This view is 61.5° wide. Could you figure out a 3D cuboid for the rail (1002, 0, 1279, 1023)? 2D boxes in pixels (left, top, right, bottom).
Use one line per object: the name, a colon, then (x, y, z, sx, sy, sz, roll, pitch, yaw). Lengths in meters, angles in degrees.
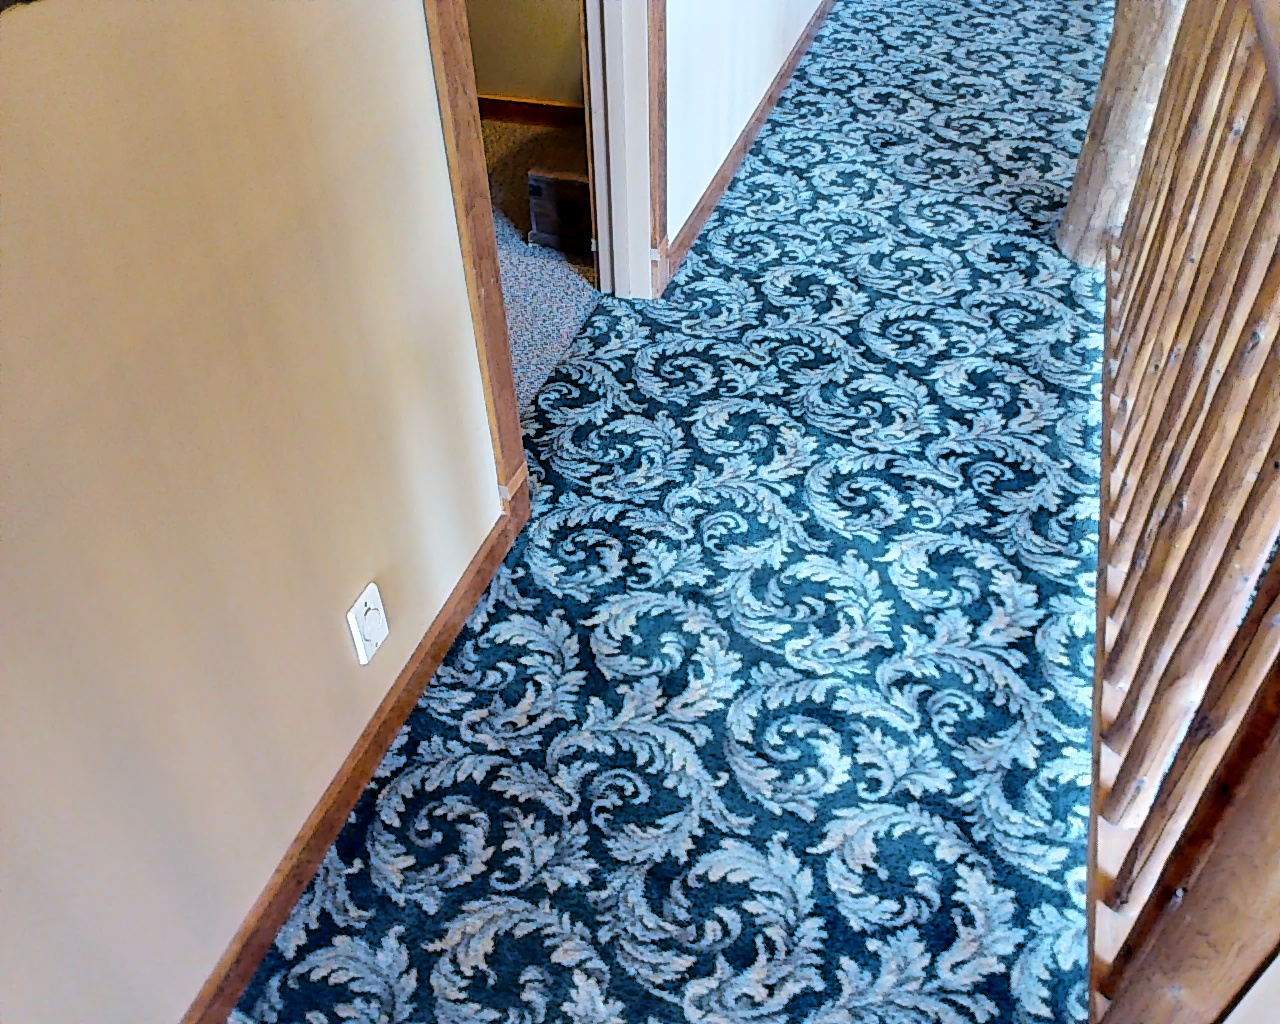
rail: (0.940, -0.440, 1.730, 0.250, 1.340, 2.430, 12, 45, 14)
